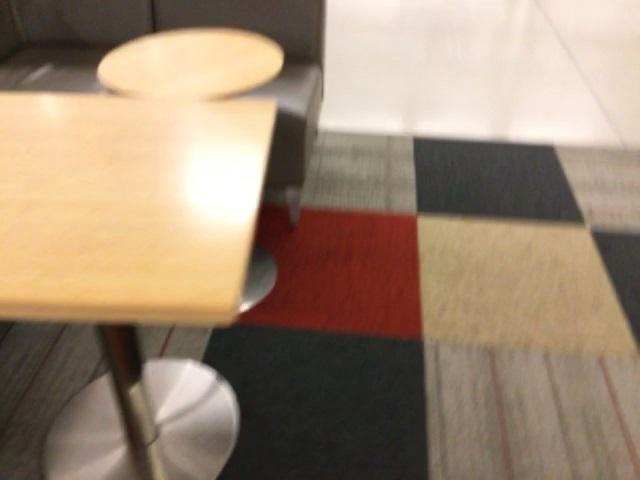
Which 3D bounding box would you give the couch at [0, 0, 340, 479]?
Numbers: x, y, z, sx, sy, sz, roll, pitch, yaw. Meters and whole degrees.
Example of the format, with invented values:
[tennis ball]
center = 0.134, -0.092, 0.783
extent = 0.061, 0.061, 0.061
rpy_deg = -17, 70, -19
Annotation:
[couch]
center = -0.750, -0.160, 1.540
extent = 1.360, 0.810, 2.250
rpy_deg = 6, 37, 5
